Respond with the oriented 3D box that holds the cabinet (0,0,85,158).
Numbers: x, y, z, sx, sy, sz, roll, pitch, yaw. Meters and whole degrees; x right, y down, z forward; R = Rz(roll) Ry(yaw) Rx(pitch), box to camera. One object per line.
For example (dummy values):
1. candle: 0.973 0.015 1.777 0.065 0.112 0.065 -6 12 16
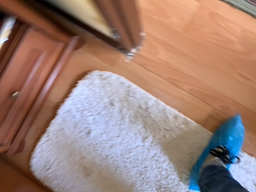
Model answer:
1. cabinet: -0.520 -0.110 0.680 0.380 0.510 0.580 31 94 6
